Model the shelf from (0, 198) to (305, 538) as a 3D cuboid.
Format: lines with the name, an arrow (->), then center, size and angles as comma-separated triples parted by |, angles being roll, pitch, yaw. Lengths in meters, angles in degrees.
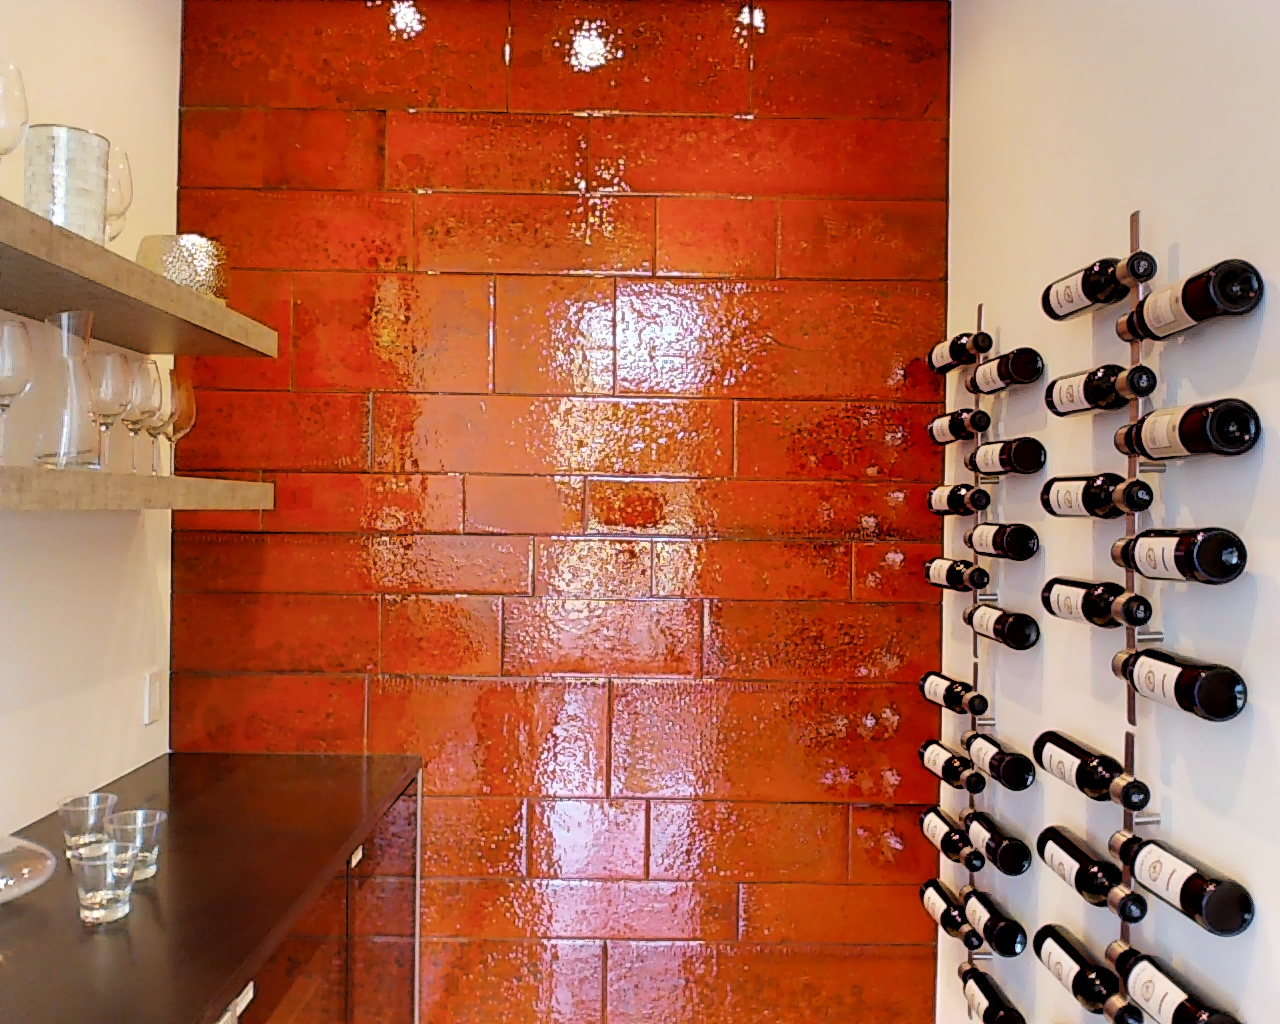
shelf -> -0.990, -0.190, 1.830 | 0.320, 0.440, 1.670 | 1, 0, 0

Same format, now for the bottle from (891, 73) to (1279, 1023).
bottle -> 0.710, 0.290, 1.220 | 0.210, 1.420, 2.660 | 1, 0, 0
